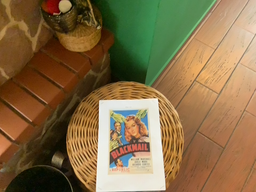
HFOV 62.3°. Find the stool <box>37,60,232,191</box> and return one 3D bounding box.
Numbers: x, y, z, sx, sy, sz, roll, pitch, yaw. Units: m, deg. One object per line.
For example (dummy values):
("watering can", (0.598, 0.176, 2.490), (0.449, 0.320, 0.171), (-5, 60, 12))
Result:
("stool", (0.030, 0.230, 0.850), (0.440, 0.390, 0.450), (34, 70, 12))
